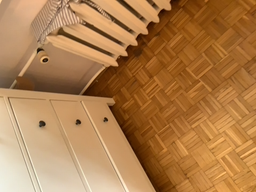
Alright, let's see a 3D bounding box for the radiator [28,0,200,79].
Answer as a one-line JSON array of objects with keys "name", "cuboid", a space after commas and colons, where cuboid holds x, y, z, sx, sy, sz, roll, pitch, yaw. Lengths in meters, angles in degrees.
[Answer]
[{"name": "radiator", "cuboid": [0.100, -0.600, 1.170, 1.170, 0.710, 0.200, -43, 65, 23]}]
